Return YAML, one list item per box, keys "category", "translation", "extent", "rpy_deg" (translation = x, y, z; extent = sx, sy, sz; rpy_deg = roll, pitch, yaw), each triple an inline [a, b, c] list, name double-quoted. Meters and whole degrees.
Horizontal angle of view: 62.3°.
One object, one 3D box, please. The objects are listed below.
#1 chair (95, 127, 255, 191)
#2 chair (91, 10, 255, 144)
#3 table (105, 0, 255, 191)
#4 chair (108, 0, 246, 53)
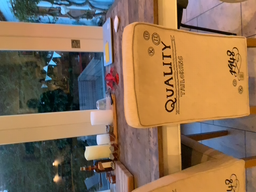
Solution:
- category: "chair"
  translation: [0.370, 0.500, 1.200]
  extent: [0.700, 0.970, 0.460]
  rpy_deg: [180, 88, -71]
- category: "chair"
  translation: [0.350, -0.080, 1.160]
  extent: [0.670, 0.970, 0.430]
  rpy_deg: [180, 88, -71]
- category: "table"
  translation: [0.360, 0.280, 1.440]
  extent: [0.870, 0.790, 1.780]
  rpy_deg: [-178, 86, -71]
- category: "chair"
  translation: [0.310, -0.610, 1.510]
  extent: [0.540, 0.780, 0.500]
  rpy_deg: [-175, 83, -70]
